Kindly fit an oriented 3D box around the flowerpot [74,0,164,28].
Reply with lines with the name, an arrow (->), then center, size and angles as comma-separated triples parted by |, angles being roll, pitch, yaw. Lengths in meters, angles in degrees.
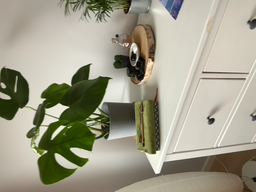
flowerpot -> -0.030, -0.450, 0.850 | 0.140, 0.340, 0.280 | -118, 33, -51
